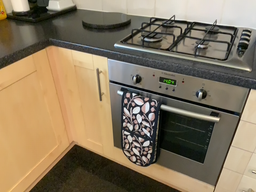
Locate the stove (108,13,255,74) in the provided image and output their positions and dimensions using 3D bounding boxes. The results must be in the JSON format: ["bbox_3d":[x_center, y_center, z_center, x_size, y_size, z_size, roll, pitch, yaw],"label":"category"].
[{"bbox_3d":[0.300,-0.300,1.040,0.600,0.030,0.540,16,38,23],"label":"stove"}]
